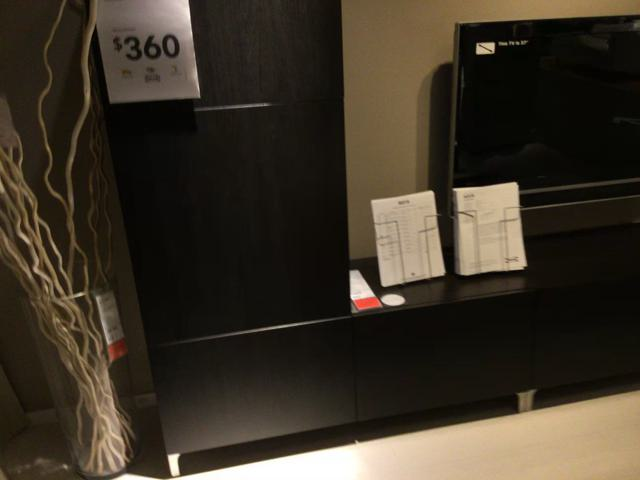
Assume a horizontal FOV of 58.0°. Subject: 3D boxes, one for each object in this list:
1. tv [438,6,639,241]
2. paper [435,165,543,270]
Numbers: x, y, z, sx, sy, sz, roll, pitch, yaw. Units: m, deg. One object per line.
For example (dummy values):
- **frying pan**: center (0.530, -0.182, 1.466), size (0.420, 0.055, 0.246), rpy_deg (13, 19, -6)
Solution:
- **tv**: center (0.890, -0.410, 1.950), size (0.920, 0.670, 0.200), rpy_deg (-9, 18, -7)
- **paper**: center (0.540, -0.070, 1.890), size (0.260, 0.300, 0.130), rpy_deg (-9, 46, -6)
